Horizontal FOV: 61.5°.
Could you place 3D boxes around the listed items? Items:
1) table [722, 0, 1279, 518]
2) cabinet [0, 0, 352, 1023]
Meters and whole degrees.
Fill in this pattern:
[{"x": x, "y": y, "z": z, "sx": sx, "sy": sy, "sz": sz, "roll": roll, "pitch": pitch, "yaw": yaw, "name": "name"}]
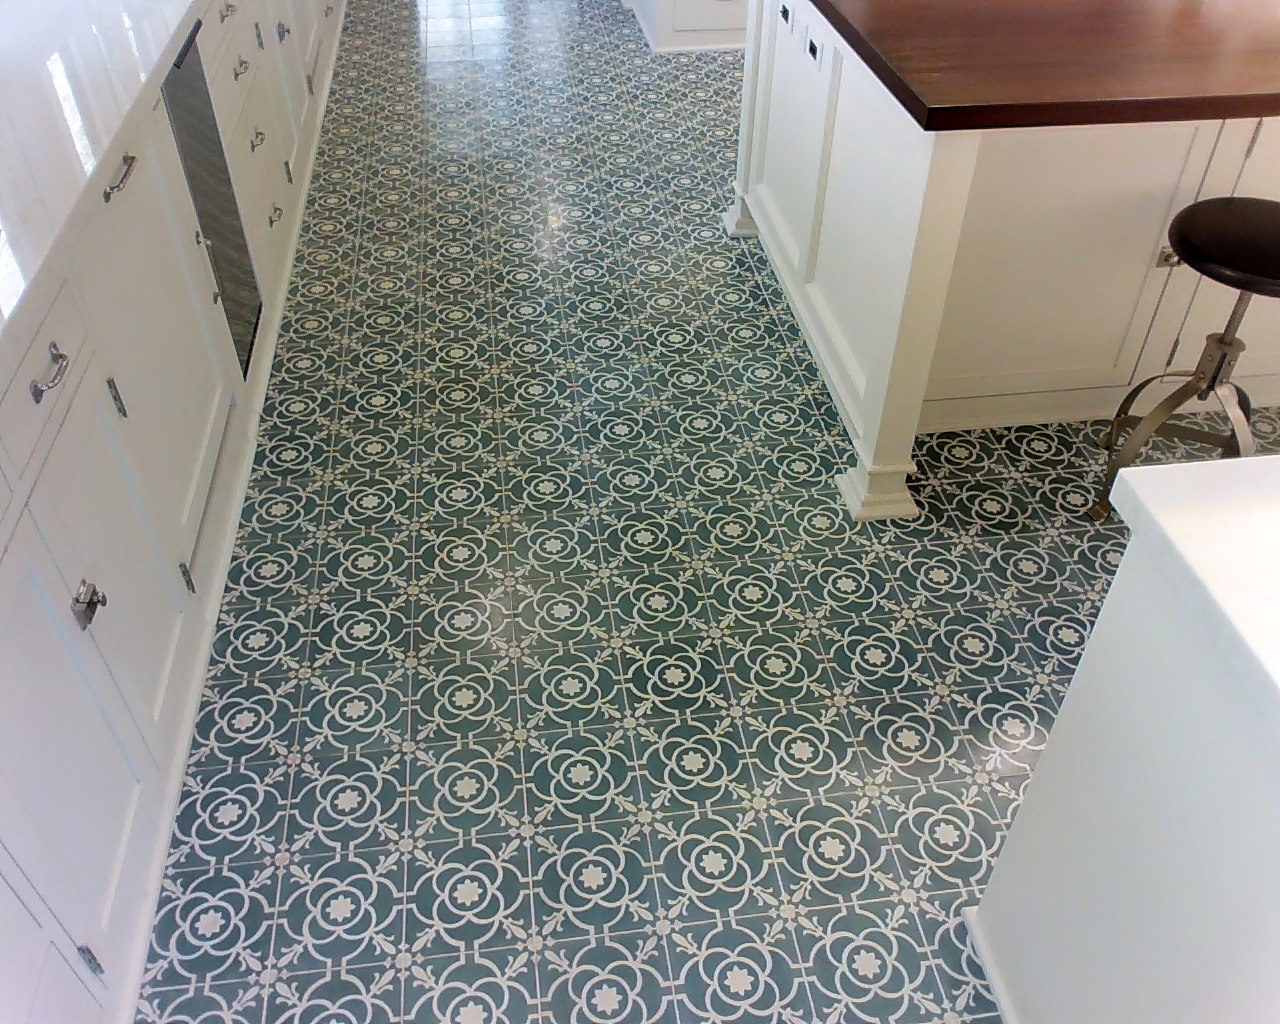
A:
[{"x": 1.550, "y": -0.970, "z": 2.840, "sx": 2.340, "sy": 0.940, "sz": 1.610, "roll": -5, "pitch": 42, "yaw": -6, "name": "table"}, {"x": -1.080, "y": -1.180, "z": 3.120, "sx": 0.070, "sy": 0.820, "sz": 5.930, "roll": -5, "pitch": 42, "yaw": -6, "name": "cabinet"}]
